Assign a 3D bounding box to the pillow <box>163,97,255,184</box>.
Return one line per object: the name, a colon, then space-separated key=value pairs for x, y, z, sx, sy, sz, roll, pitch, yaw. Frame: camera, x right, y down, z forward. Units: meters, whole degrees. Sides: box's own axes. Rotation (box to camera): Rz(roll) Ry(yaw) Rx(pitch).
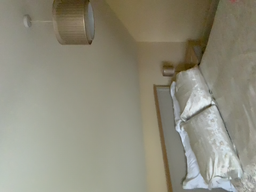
pillow: x=0.780 y=0.380 z=2.060 sx=0.750 sy=0.420 sz=0.250 roll=47 pitch=133 yaw=30
